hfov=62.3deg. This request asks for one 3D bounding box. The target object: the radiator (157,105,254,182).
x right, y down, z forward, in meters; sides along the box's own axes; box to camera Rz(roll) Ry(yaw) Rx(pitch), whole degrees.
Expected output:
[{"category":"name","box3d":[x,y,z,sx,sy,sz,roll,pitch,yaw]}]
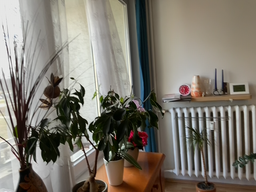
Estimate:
[{"category":"radiator","box3d":[0.950,0.570,2.690,1.100,0.880,0.190,-2,6,19]}]
